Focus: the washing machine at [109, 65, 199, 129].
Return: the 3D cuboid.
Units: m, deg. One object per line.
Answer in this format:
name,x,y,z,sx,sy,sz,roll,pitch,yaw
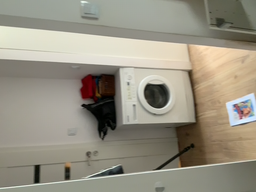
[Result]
washing machine,0.260,0.040,2.430,0.500,0.840,0.590,144,124,-67
